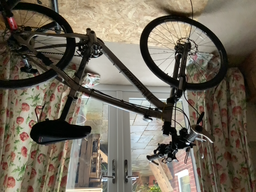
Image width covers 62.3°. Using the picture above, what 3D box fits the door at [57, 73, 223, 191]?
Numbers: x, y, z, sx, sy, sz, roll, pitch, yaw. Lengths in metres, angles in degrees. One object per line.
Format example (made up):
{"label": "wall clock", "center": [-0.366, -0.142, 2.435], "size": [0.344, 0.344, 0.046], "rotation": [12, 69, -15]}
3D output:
{"label": "door", "center": [0.130, 0.910, 2.060], "size": [1.580, 2.610, 0.110], "rotation": [0, 152, -5]}
